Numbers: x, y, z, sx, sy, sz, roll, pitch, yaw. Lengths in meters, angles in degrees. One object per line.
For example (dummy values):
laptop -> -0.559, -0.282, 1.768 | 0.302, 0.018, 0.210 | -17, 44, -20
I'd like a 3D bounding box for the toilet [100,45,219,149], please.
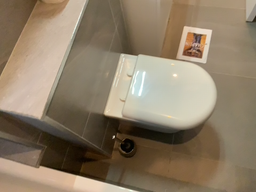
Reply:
toilet -> 0.180, 0.030, 1.220 | 0.500, 0.460, 0.370 | 10, 70, 11
